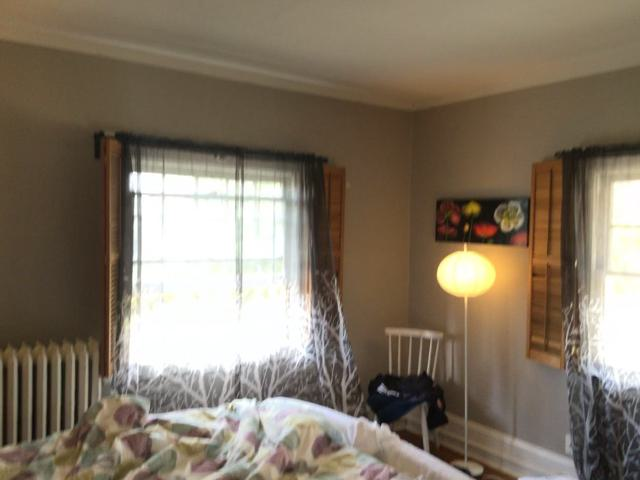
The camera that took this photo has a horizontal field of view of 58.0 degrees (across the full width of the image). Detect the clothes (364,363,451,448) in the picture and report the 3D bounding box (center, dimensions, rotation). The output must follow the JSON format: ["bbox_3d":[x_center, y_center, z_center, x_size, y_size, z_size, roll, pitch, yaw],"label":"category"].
[{"bbox_3d":[0.580,1.060,3.770,0.450,0.350,0.480,2,3,23],"label":"clothes"}]
